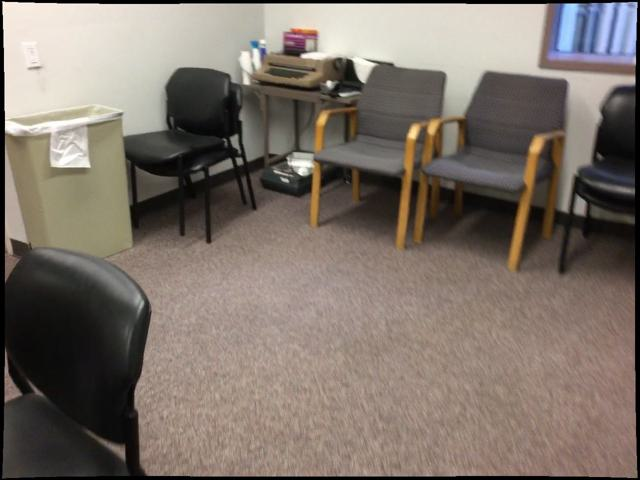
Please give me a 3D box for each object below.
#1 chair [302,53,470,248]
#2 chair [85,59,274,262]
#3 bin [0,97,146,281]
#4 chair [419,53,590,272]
[{"bbox_3d":[0.409,-0.571,3.420,0.669,0.872,0.780,13,31,28],"label":"chair"},{"bbox_3d":[-0.748,-0.501,3.310,0.589,0.882,0.800,16,30,27],"label":"chair"},{"bbox_3d":[-1.227,-0.271,2.830,0.310,0.721,0.560,22,33,36],"label":"bin"},{"bbox_3d":[0.997,-0.461,3.160,0.579,0.882,0.790,17,36,30],"label":"chair"}]
